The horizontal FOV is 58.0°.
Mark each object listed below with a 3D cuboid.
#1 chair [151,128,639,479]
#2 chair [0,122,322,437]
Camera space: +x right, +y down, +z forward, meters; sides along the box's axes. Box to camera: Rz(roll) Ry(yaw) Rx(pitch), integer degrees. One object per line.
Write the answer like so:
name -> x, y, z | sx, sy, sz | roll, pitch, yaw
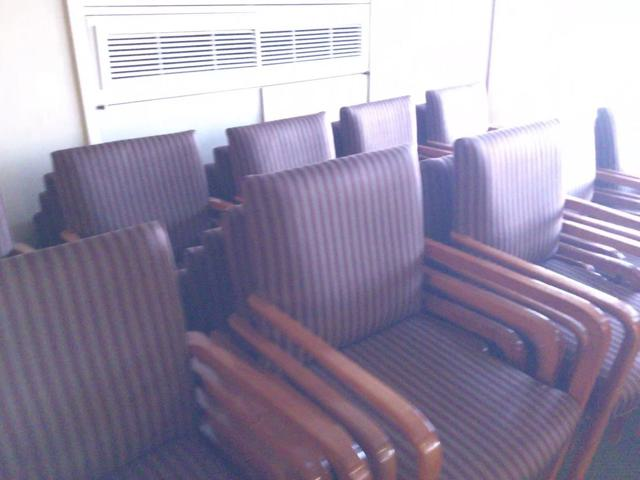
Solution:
chair -> 0.190, 0.400, 1.280 | 0.690, 1.150, 0.750 | -18, 24, -39
chair -> -0.520, 0.020, 1.850 | 0.660, 0.660, 0.810 | -18, 24, -39
